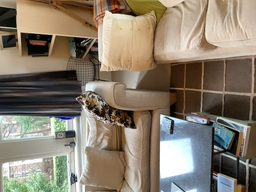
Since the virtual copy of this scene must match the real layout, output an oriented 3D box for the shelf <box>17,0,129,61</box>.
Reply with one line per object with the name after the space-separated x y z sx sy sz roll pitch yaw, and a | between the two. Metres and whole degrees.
-0.810 -0.880 3.080 0.810 1.400 0.430 -22 71 62 | shelf
